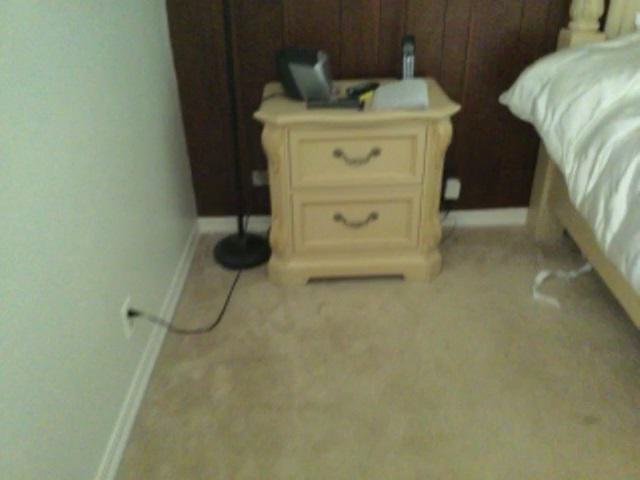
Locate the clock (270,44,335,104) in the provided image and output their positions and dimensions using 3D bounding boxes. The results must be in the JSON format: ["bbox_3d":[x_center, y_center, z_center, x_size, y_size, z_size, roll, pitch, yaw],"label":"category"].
[{"bbox_3d":[-0.060,-0.590,2.050,0.210,0.160,0.150,-4,28,0],"label":"clock"}]

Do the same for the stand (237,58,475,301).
[{"bbox_3d":[0.130,-0.250,2.280,0.770,0.750,0.540,-4,28,0],"label":"stand"}]
